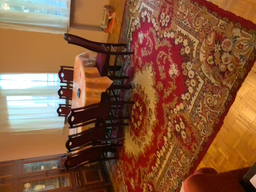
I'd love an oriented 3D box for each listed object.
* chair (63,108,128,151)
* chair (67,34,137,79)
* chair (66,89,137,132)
[{"bbox_3d":[-0.550,0.540,3.540,0.490,0.940,0.400,-118,36,-46],"label":"chair"},{"bbox_3d":[-0.420,-0.590,3.230,0.450,0.910,0.480,-120,37,-47],"label":"chair"},{"bbox_3d":[-0.430,0.200,3.270,0.490,0.940,0.400,-118,36,-46],"label":"chair"}]
